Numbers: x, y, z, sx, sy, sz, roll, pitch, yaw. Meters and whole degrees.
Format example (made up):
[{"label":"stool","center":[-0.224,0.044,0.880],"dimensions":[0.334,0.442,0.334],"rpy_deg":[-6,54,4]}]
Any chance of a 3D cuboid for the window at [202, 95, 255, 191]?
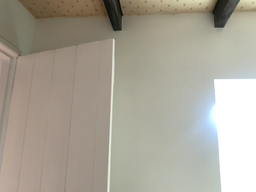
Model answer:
[{"label":"window","center":[1.120,0.530,1.770],"dimensions":[0.900,1.080,0.090],"rpy_deg":[0,-13,8]}]
